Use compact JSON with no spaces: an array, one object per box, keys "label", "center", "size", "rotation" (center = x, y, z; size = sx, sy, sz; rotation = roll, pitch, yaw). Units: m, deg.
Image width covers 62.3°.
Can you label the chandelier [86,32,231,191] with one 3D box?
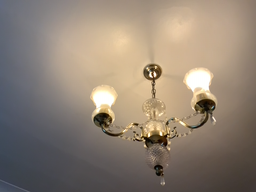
[{"label":"chandelier","center":[0.100,0.050,0.820],"size":[0.330,0.540,0.400],"rotation":[-1,125,6]}]
